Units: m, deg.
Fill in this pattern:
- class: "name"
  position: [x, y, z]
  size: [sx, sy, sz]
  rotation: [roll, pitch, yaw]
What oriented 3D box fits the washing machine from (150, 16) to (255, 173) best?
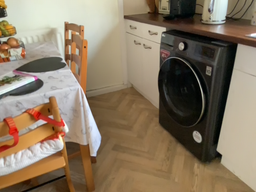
- class: "washing machine"
  position: [0.650, -0.080, 1.640]
  size: [0.710, 0.900, 0.650]
  rotation: [-14, 30, -21]
